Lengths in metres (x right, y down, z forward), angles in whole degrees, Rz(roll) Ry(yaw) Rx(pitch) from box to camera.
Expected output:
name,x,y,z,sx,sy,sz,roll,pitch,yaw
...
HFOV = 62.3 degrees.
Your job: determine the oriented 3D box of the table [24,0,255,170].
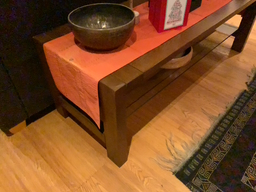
name,x,y,z,sx,sy,sz,roll,pitch,yaw
table,0.230,-0.310,1.270,0.520,0.460,1.380,33,52,29
